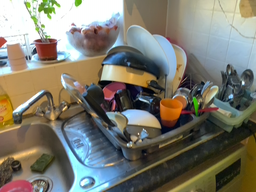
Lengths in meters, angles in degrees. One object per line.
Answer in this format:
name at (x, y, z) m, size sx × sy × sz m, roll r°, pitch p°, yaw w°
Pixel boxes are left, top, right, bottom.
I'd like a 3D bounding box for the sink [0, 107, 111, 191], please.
sink at (-0.370, 0.290, 0.710) m, size 0.450 × 0.190 × 0.490 m, roll -18°, pitch 32°, yaw -28°
